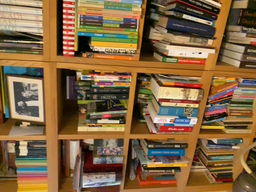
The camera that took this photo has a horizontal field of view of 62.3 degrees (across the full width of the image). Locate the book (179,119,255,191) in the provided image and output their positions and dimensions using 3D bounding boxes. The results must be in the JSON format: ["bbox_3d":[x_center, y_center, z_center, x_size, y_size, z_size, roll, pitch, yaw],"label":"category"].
[{"bbox_3d":[0.610,0.390,1.460,0.300,0.350,0.360,-116,29,-66],"label":"book"}]

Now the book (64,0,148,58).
[{"bbox_3d":[-0.120,-0.370,1.030,0.290,0.340,0.280,-112,27,-64],"label":"book"}]

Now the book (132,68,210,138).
[{"bbox_3d":[0.230,0.030,1.300,0.340,0.320,0.310,-115,29,-66],"label":"book"}]

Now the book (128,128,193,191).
[{"bbox_3d":[0.190,0.410,1.390,0.260,0.310,0.300,-113,27,-64],"label":"book"}]

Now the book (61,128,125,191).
[{"bbox_3d":[-0.220,0.400,1.310,0.280,0.340,0.300,-114,28,-65],"label":"book"}]

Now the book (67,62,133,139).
[{"bbox_3d":[-0.170,0.020,1.200,0.250,0.320,0.350,-114,28,-65],"label":"book"}]
